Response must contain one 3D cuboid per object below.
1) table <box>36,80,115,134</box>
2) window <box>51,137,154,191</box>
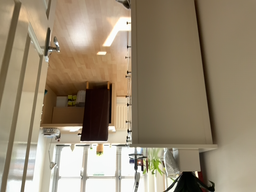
[{"bbox_3d":[-0.850,0.230,3.830,1.190,0.760,0.830,0,161,0],"label":"table"},{"bbox_3d":[-0.460,1.420,3.930,1.820,1.280,0.150,0,161,-1],"label":"window"}]
